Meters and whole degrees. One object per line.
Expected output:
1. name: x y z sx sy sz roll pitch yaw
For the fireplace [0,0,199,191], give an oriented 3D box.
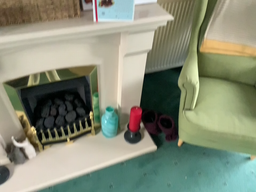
1. fireplace: -0.460 -0.100 1.300 1.220 0.960 0.860 -13 47 -17
